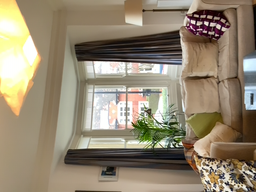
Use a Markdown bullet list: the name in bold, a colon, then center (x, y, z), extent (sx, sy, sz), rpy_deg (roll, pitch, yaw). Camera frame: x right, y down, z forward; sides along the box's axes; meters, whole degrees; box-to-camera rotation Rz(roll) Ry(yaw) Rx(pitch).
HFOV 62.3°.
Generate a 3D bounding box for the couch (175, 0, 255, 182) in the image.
- **couch**: center (1.120, -0.180, 2.870), extent (0.930, 0.800, 2.290), rpy_deg (46, -135, -87)

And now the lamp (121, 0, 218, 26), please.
- **lamp**: center (0.690, -1.570, 3.780), extent (0.460, 1.580, 0.410), rpy_deg (82, -172, -74)
